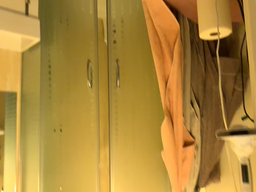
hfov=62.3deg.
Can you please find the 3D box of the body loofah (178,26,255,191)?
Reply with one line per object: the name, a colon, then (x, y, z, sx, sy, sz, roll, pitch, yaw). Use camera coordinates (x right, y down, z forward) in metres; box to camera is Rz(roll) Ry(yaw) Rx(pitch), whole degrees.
body loofah: (0.500, 0.120, 1.230, 0.310, 0.930, 0.190, -7, 172, 44)
